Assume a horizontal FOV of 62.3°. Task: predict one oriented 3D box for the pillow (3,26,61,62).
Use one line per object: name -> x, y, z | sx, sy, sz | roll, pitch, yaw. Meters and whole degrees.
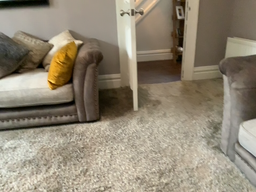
pillow -> -1.060, -0.600, 2.410 | 0.510, 0.380, 0.170 | -19, -62, -1
